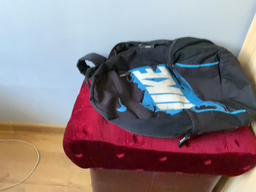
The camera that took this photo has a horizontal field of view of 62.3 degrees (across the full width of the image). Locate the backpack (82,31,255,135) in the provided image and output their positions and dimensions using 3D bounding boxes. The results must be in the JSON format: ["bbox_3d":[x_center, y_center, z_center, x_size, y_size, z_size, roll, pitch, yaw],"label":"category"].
[{"bbox_3d":[0.100,-0.050,0.620,0.400,0.160,0.250,4,41,1],"label":"backpack"}]
